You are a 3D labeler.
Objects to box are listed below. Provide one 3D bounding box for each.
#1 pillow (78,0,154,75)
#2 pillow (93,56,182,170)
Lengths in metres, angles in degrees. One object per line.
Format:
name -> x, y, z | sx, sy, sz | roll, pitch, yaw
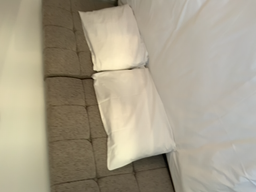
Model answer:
pillow -> -0.120, -0.510, 1.690 | 0.140, 0.490, 0.680 | 94, 166, -59
pillow -> 0.030, 0.080, 1.380 | 0.130, 0.430, 0.690 | 106, 155, -63
